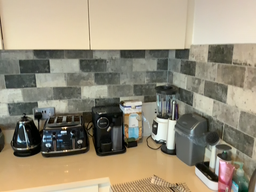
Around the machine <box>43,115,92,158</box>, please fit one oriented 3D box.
[{"bbox_3d":[-0.410,0.270,1.480,0.290,0.190,0.250,-3,13,-13],"label":"machine"}]
